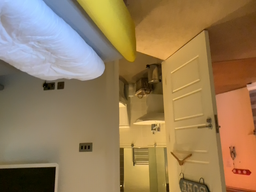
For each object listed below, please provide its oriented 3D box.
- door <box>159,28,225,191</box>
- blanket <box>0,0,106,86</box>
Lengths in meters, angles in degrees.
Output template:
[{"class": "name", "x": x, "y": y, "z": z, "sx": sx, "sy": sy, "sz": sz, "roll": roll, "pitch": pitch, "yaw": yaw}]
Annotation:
[{"class": "door", "x": 0.640, "y": 0.430, "z": 2.320, "sx": 0.030, "sy": 2.080, "sz": 0.900, "roll": 3, "pitch": 167, "yaw": -21}, {"class": "blanket", "x": -0.590, "y": -0.280, "z": 1.100, "sx": 0.600, "sy": 0.150, "sz": 1.100, "roll": -5, "pitch": 168, "yaw": 14}]
